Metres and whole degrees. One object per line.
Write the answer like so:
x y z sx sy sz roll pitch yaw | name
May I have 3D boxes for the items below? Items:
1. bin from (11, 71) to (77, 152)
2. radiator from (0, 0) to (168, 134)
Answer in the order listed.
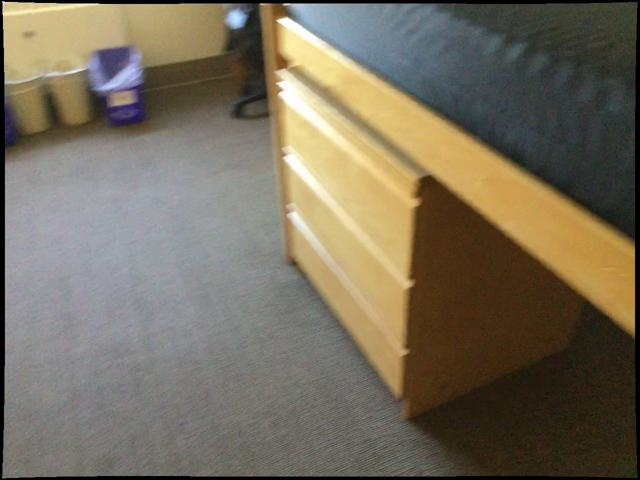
-1.556 -0.732 3.260 0.240 0.321 0.310 -16 38 -16 | bin
-1.526 -1.023 3.340 1.138 0.631 0.170 -16 38 -16 | radiator
